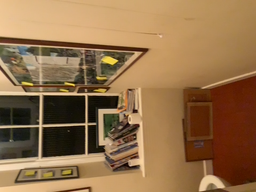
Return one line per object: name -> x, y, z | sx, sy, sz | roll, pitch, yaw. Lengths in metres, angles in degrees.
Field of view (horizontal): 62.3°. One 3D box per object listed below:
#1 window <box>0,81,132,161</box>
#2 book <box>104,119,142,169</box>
window -> -0.890, 0.230, 2.140 | 0.050, 1.940, 0.750 | 163, 106, -70
book -> -0.060, 0.470, 2.180 | 0.230, 0.320, 0.450 | 165, 104, -70
